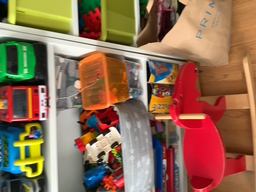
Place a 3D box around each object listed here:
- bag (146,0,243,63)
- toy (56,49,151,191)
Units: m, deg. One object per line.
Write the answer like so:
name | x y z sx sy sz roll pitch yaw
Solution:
bag | 0.320 -0.400 0.960 0.230 0.460 0.430 0 90 45
toy | -0.110 0.220 0.940 0.270 0.310 0.770 3 92 45
